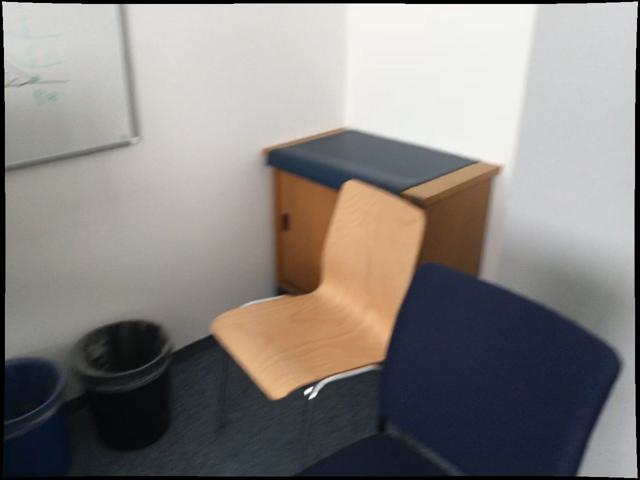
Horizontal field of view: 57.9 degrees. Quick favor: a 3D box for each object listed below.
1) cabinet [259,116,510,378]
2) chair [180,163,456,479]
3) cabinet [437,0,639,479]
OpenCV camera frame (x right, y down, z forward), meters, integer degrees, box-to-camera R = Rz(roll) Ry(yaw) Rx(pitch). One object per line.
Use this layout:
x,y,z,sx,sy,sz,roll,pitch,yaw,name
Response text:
0.210,-0.030,2.260,0.480,0.681,0.790,-23,35,-38,cabinet
-0.010,0.230,1.750,0.580,0.711,0.490,-20,33,-34,chair
0.709,-0.170,1.300,0.070,1.982,0.800,-23,35,-38,cabinet
